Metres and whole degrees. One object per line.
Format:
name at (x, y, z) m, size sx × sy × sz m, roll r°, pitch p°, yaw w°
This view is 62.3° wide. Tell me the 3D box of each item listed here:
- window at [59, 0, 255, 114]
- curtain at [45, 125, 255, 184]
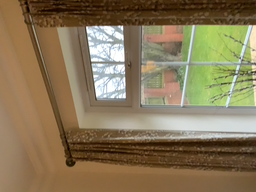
window at (0.640, -0.240, 1.520) m, size 0.080 × 2.100 × 0.880 m, roll -85°, pitch -5°, yaw -55°
curtain at (0.580, 0.440, 1.570) m, size 0.170 × 2.280 × 0.400 m, roll -85°, pitch -5°, yaw -57°
